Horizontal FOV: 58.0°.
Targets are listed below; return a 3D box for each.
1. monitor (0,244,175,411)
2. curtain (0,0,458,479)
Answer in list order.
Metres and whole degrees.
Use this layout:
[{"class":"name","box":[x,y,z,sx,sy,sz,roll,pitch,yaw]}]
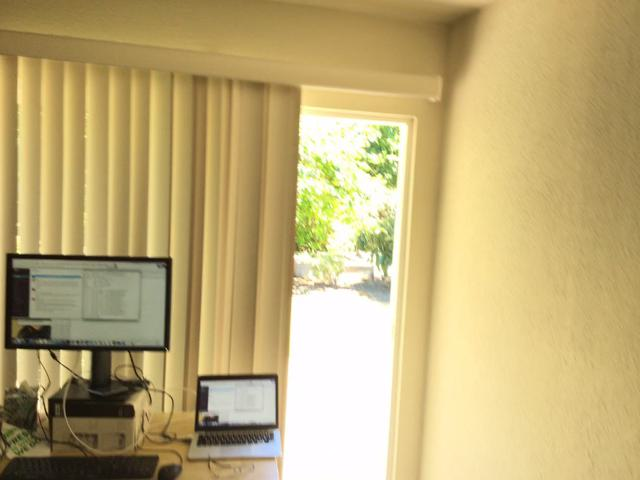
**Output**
[{"class":"monitor","box":[-0.810,0.300,2.050,0.520,0.520,0.300,5,1,-17]},{"class":"curtain","box":[-0.540,0.300,2.340,2.060,2.250,0.310,5,1,-17]}]
